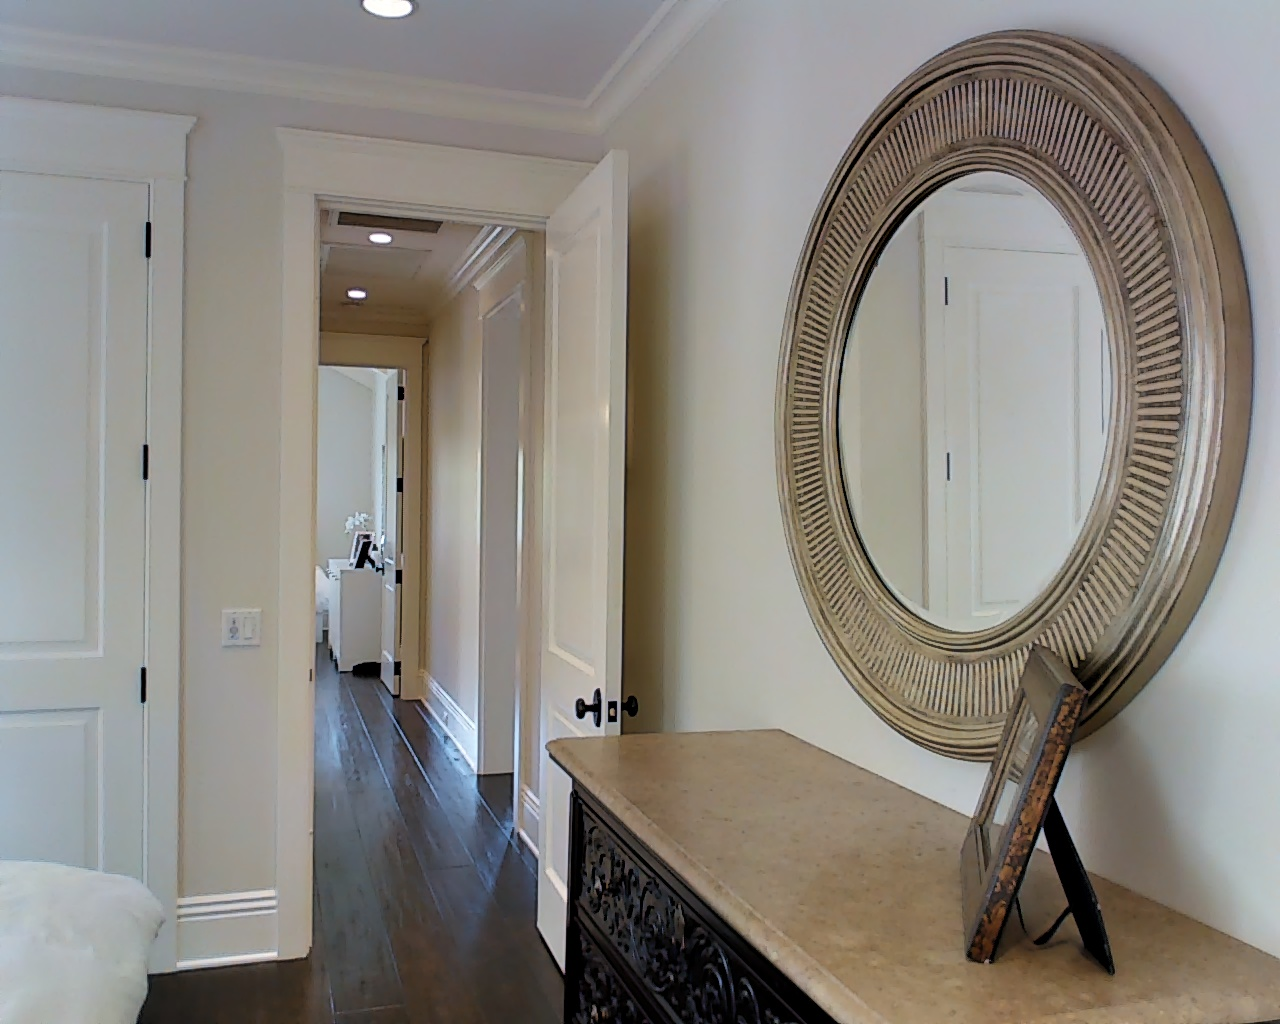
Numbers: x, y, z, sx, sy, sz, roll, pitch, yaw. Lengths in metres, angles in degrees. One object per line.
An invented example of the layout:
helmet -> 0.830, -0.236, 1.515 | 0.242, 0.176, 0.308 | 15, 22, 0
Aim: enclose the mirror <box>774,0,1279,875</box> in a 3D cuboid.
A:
mirror -> 0.520, -0.180, 1.770 | 0.090, 1.171, 1.160 | 1, 0, -18
